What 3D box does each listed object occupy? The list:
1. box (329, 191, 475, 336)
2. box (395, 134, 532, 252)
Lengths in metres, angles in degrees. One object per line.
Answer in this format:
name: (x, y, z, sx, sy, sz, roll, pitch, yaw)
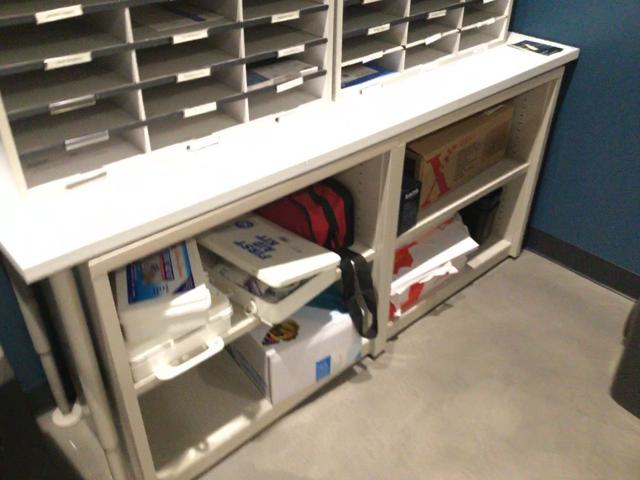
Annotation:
box: (0.260, 0.060, 1.860, 0.380, 0.250, 0.270, -29, 42, -36)
box: (0.390, -0.140, 1.600, 0.240, 0.180, 0.260, -29, 42, -36)
